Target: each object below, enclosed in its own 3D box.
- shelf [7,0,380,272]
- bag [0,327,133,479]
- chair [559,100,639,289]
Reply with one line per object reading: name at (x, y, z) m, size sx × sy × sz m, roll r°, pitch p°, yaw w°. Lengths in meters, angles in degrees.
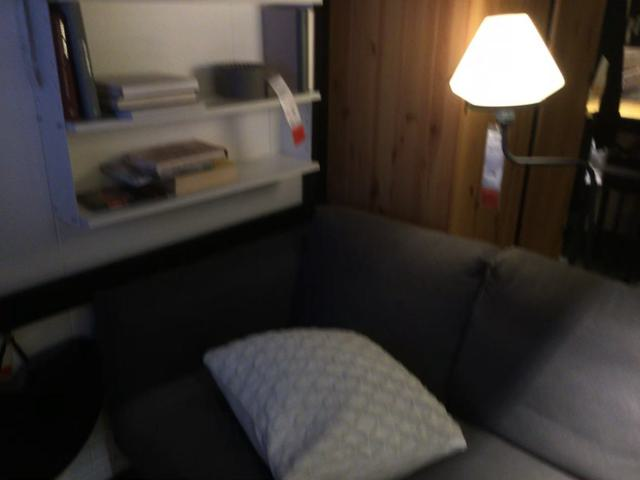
shelf at (-0.260, -0.420, 1.580) m, size 0.930 × 0.710 × 0.310 m, roll -20°, pitch 28°, yaw -40°
bag at (-0.780, 0.530, 1.510) m, size 0.490 × 0.430 × 0.150 m, roll -20°, pitch 28°, yaw -40°
chair at (1.630, -0.250, 2.990) m, size 0.450 × 0.840 × 0.490 m, roll -21°, pitch 28°, yaw -40°
